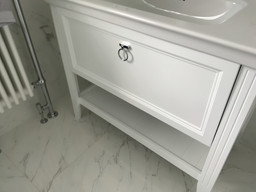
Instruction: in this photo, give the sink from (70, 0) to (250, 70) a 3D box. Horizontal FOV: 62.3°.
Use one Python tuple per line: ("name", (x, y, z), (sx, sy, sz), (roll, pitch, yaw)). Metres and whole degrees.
("sink", (0.100, -0.350, 0.890), (0.640, 0.140, 0.340), (28, 47, 29))
